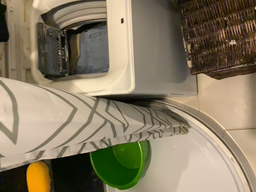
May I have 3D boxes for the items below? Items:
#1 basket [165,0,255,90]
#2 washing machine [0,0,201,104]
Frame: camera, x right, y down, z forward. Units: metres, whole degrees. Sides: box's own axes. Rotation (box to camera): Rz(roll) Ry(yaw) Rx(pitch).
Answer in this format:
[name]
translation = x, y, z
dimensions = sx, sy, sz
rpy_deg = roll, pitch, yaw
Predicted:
[basket]
translation = 0.500, -0.320, 0.900
dimensions = 0.520, 0.460, 0.480
rpy_deg = -12, 83, 30
[washing machine]
translation = -0.030, -0.190, 1.000
dimensions = 0.520, 0.840, 0.420
rpy_deg = -5, 86, 30
